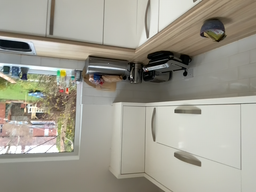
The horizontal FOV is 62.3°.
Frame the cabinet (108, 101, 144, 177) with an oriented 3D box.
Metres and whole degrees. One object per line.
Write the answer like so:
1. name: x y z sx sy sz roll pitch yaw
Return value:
1. cabinet: -0.030 0.460 2.420 0.290 0.780 0.360 3 176 -20
